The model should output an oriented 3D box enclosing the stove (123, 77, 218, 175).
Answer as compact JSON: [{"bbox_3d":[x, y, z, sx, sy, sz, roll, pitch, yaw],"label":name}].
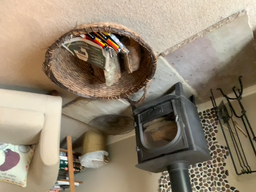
[{"bbox_3d":[0.350,0.300,1.860,0.560,0.580,0.520,-24,143,28],"label":"stove"}]

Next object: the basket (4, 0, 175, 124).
[{"bbox_3d":[-0.180,-0.170,1.420,0.720,0.270,0.830,-19,145,21],"label":"basket"}]

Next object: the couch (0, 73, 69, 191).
[{"bbox_3d":[-0.990,0.380,1.770,0.810,0.730,0.880,7,146,-18],"label":"couch"}]
